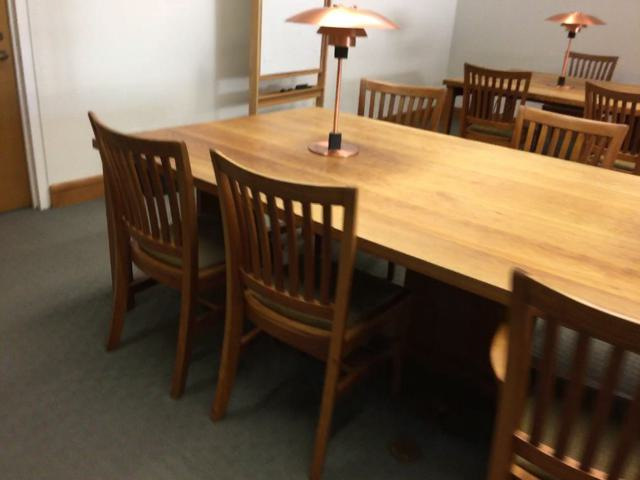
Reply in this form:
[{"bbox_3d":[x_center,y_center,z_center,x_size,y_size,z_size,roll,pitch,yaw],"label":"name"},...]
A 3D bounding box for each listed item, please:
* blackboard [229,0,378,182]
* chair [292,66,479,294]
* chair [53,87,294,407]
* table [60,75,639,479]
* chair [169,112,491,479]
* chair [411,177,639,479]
[{"bbox_3d":[-0.100,-1.340,4.230,0.620,1.560,0.870,20,31,38],"label":"blackboard"},{"bbox_3d":[0.330,-0.360,3.050,0.680,0.960,0.630,20,31,38],"label":"chair"},{"bbox_3d":[-0.510,-0.020,2.160,0.620,0.950,0.510,20,31,38],"label":"chair"},{"bbox_3d":[0.580,0.110,2.100,2.880,0.950,1.580,20,31,38],"label":"table"},{"bbox_3d":[0.040,0.160,1.880,0.660,0.960,0.670,20,31,38],"label":"chair"},{"bbox_3d":[0.620,0.440,1.280,0.570,0.940,0.620,20,31,38],"label":"chair"}]
